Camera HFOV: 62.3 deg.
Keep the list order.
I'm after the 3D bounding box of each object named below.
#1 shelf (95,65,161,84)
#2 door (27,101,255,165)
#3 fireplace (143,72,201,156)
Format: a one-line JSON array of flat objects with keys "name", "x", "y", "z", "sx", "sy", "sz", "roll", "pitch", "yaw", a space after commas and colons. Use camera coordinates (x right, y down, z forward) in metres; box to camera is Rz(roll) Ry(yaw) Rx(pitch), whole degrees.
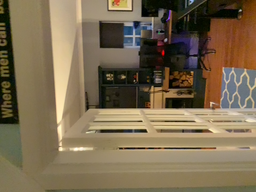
[{"name": "shelf", "x": -0.010, "y": -0.490, "z": 4.760, "sx": 0.280, "sy": 1.420, "sz": 0.370, "roll": -102, "pitch": 13, "yaw": -78}, {"name": "door", "x": 0.600, "y": 0.180, "z": 1.400, "sx": 0.920, "sy": 2.090, "sz": 0.100, "roll": -106, "pitch": 17, "yaw": -80}, {"name": "fireplace", "x": 0.940, "y": 0.360, "z": 4.930, "sx": 0.930, "sy": 1.030, "sz": 1.750, "roll": -102, "pitch": 13, "yaw": -78}]
